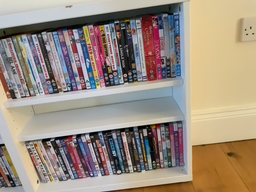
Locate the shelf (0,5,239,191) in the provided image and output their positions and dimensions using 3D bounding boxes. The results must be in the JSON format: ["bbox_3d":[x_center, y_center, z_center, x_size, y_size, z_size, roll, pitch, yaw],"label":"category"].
[{"bbox_3d":[-0.340,0.080,0.790,1.300,0.620,0.270,-7,24,2],"label":"shelf"}]
